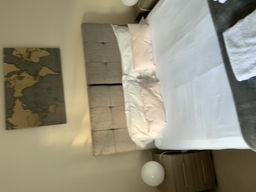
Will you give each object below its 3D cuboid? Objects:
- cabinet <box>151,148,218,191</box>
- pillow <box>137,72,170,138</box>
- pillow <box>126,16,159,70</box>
[{"bbox_3d":[0.610,0.830,2.380,0.440,0.520,0.400,145,119,-68],"label":"cabinet"},{"bbox_3d":[0.270,0.100,2.270,0.140,0.260,0.660,-18,72,46],"label":"pillow"},{"bbox_3d":[0.160,-0.600,2.410,0.120,0.280,0.560,-25,68,49],"label":"pillow"}]
